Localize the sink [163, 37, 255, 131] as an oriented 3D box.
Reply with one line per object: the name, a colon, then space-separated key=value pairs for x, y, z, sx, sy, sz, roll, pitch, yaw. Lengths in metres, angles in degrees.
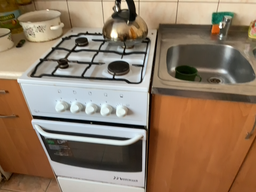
sink: x=0.350 y=-0.080 z=0.940 sx=0.360 sy=0.210 sz=0.390 roll=5 pitch=37 yaw=8

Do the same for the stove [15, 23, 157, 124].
stove: x=-0.130 y=-0.160 z=1.050 sx=0.500 sy=0.190 sz=0.590 roll=5 pitch=37 yaw=8
